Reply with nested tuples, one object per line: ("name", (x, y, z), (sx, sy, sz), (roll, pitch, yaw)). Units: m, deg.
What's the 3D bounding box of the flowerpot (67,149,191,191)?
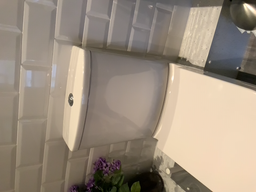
("flowerpot", (0.000, 0.480, 1.020), (0.260, 0.510, 0.270), (31, 116, 51))
